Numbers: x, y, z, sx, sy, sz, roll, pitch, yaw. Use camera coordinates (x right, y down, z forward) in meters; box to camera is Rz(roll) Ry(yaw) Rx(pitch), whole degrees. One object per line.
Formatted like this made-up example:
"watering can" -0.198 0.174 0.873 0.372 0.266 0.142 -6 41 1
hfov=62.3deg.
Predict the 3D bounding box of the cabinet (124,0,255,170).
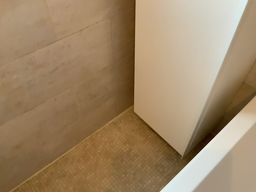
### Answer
"cabinet" 0.260 -0.450 0.610 0.340 2.050 0.450 -34 58 -25
